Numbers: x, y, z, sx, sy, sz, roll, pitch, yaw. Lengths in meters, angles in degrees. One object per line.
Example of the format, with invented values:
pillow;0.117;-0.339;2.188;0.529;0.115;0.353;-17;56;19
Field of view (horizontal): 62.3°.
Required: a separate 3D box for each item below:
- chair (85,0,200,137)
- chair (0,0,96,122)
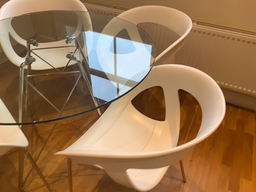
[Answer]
chair;0.060;-0.220;1.570;0.530;0.780;0.500;-18;44;-24
chair;-0.630;-0.330;1.660;0.550;0.780;0.530;-17;44;-23
